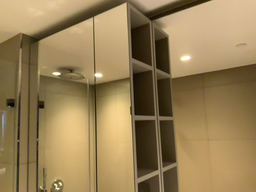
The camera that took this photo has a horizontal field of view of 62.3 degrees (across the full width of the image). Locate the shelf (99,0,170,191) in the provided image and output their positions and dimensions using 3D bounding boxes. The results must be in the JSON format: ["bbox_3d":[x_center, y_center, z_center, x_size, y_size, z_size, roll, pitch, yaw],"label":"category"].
[{"bbox_3d":[0.030,0.120,1.050,0.230,1.080,0.220,-8,-10,37],"label":"shelf"}]
